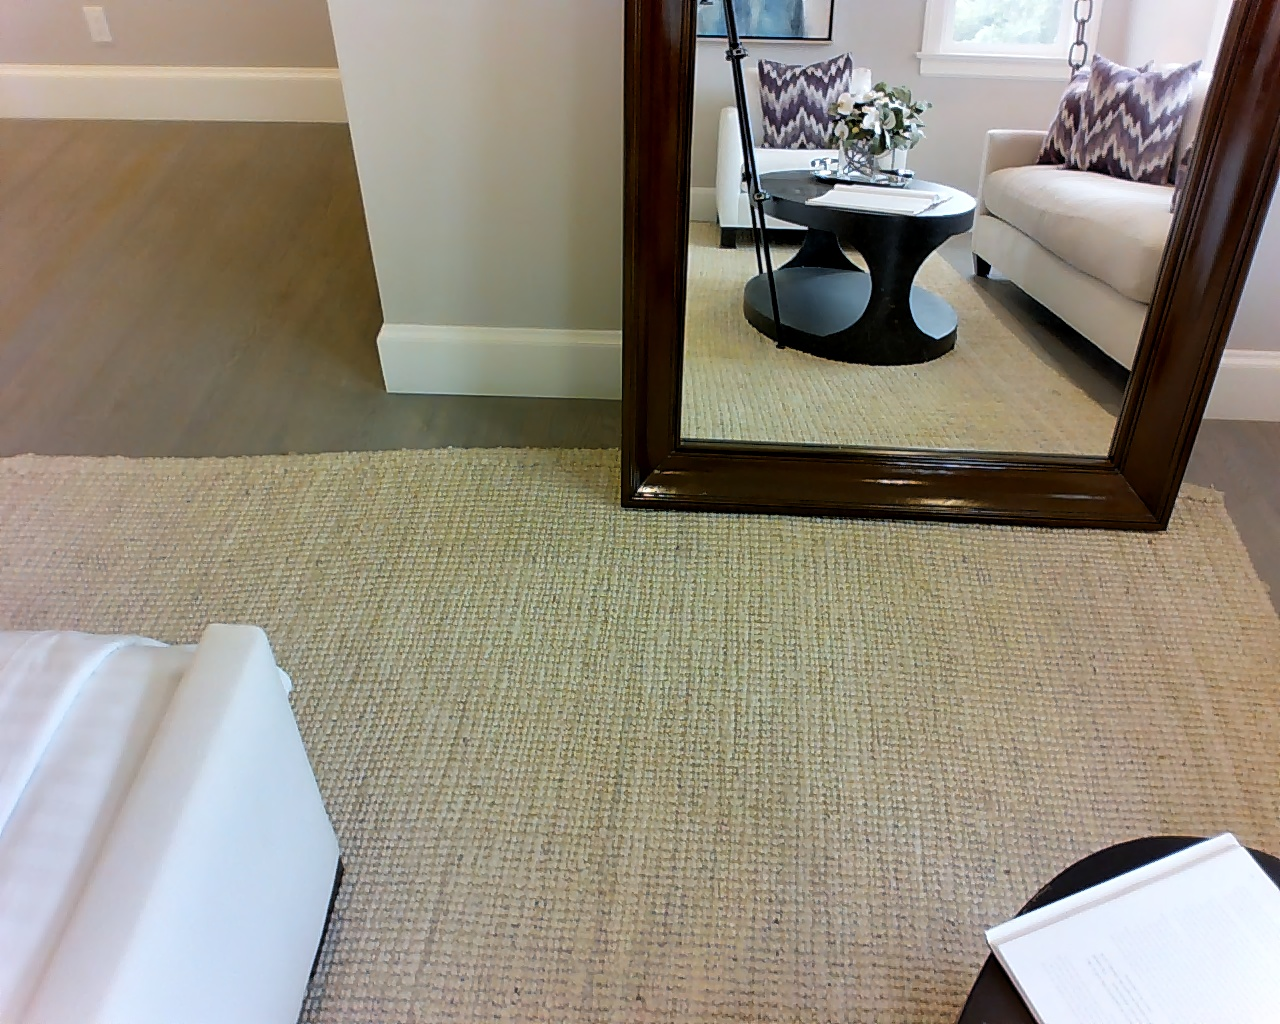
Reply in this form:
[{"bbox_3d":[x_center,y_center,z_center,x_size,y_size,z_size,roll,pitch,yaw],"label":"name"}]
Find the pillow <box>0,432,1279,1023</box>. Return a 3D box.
[{"bbox_3d":[-0.210,1.230,0.980,2.900,0.010,4.100,2,42,2],"label":"pillow"}]
